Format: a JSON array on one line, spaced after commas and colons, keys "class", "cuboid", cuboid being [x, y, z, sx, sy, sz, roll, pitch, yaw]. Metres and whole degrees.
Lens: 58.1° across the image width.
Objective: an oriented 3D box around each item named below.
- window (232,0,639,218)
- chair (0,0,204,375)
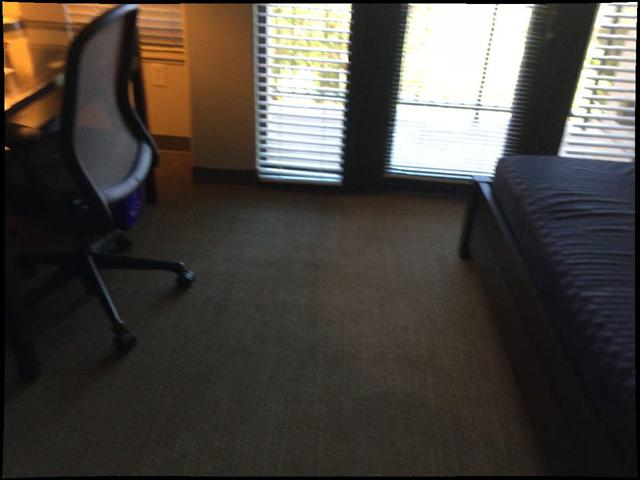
[{"class": "window", "cuboid": [0.638, -1.103, 2.490, 2.005, 2.004, 0.270, 4, 32, 1]}, {"class": "chair", "cuboid": [-0.738, -0.190, 1.840, 0.549, 1.022, 0.640, 4, 32, 0]}]
